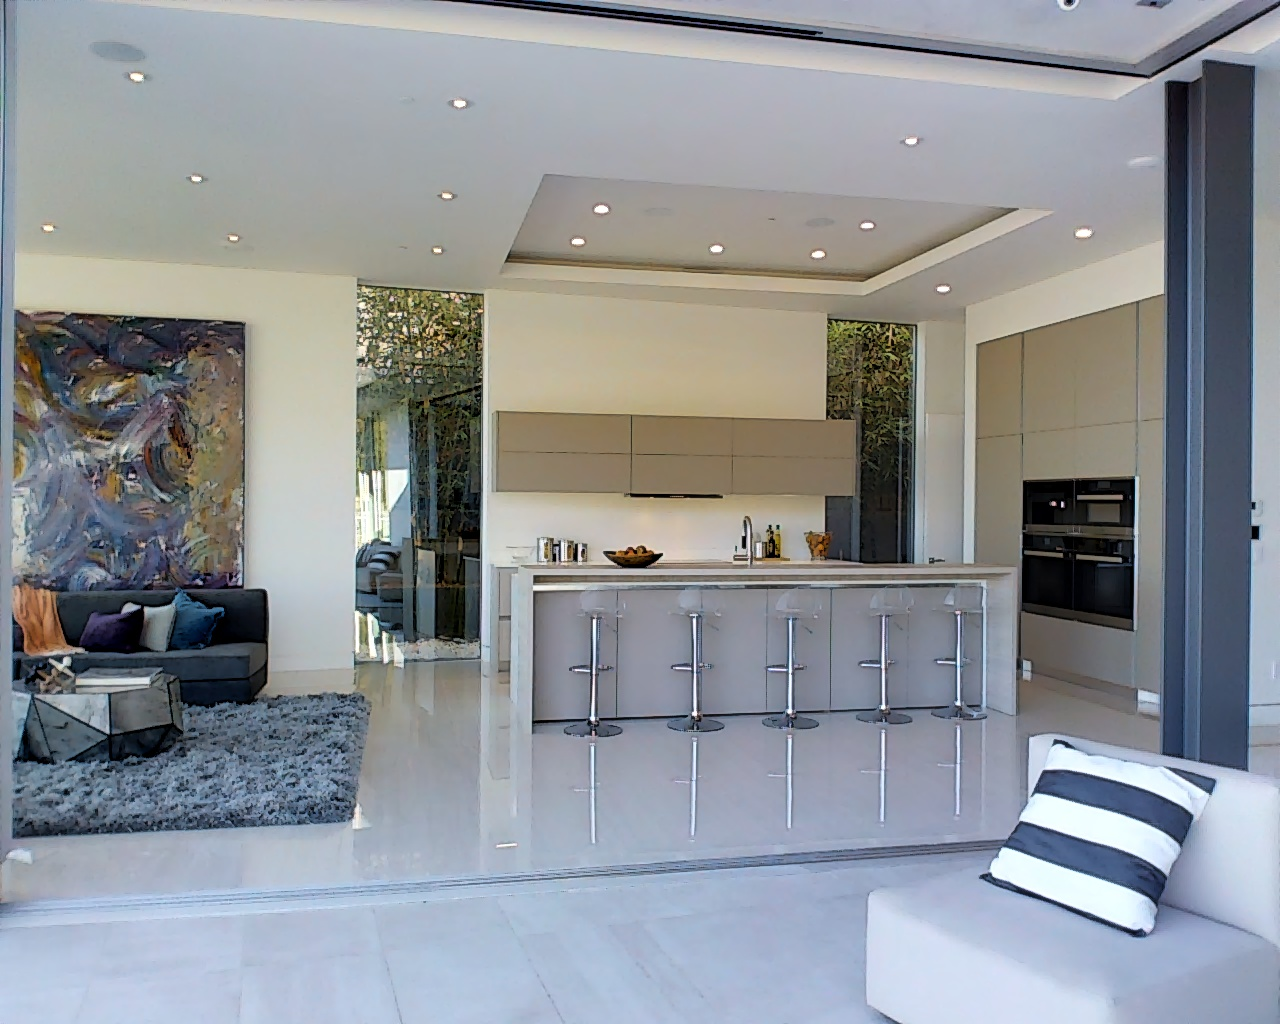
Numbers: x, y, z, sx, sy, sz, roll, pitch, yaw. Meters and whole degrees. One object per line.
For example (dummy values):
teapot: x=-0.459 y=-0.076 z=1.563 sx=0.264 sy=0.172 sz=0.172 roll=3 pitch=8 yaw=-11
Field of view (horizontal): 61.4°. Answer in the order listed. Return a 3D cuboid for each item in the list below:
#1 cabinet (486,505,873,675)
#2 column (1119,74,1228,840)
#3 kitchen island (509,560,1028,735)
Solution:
cabinet: x=0.350 y=0.690 z=10.180 sx=3.490 sy=1.470 sz=1.020 roll=1 pitch=0 yaw=-12
column: x=2.470 y=-0.240 z=4.990 sx=0.420 sy=3.400 sz=0.230 roll=1 pitch=0 yaw=-32
kitchen island: x=0.870 y=0.910 z=7.900 sx=3.520 sy=1.050 sz=1.360 roll=1 pitch=0 yaw=-12
